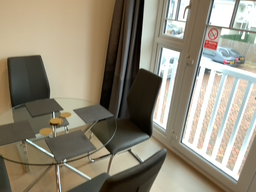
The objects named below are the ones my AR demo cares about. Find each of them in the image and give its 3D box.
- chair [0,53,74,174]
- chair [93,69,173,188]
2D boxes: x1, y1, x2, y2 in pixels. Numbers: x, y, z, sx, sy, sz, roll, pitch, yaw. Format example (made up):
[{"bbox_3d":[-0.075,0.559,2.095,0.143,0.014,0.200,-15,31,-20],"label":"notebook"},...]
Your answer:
[{"bbox_3d":[-0.910,0.140,2.180,0.500,1.030,0.530,-13,30,-36],"label":"chair"},{"bbox_3d":[0.010,0.290,2.120,0.530,0.970,0.470,-13,30,-36],"label":"chair"}]
